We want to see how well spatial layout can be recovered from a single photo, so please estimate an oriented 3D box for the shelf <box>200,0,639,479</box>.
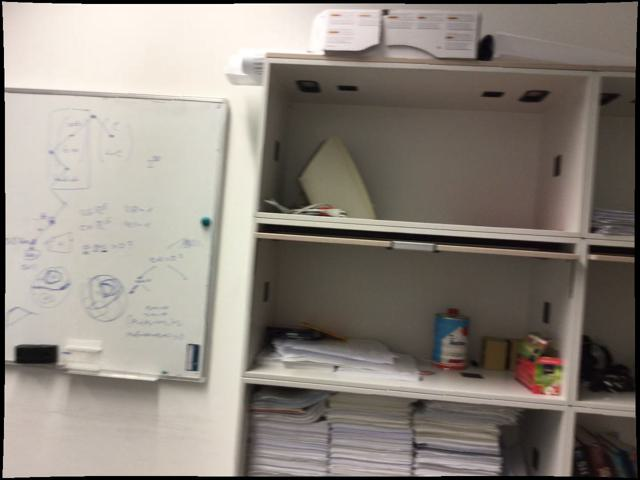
[{"bbox_3d":[0.589,0.551,1.460,1.638,2.202,0.610,4,1,7],"label":"shelf"}]
